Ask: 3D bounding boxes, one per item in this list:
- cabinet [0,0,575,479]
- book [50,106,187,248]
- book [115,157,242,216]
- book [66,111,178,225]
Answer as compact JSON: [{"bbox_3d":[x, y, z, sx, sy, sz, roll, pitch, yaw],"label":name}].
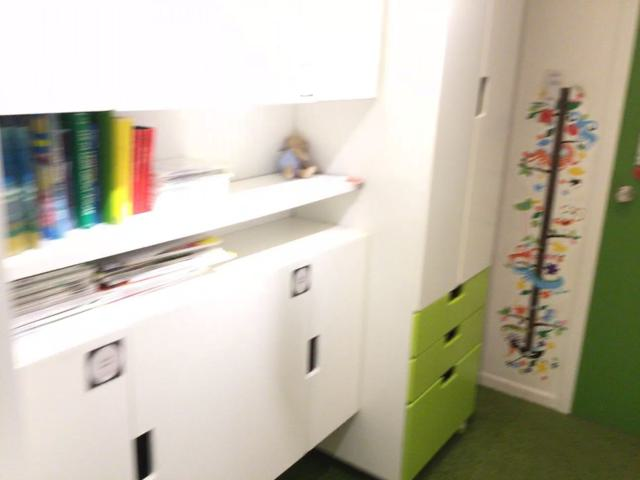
[{"bbox_3d":[-0.220,0.040,1.350,0.650,2.000,2.370,15,21,37],"label":"cabinet"},{"bbox_3d":[-0.410,-0.140,1.180,0.250,0.240,0.140,15,21,37],"label":"book"},{"bbox_3d":[-0.350,-0.140,1.450,0.180,0.090,0.250,15,21,37],"label":"book"},{"bbox_3d":[-0.440,-0.170,1.300,0.140,0.220,0.180,15,21,37],"label":"book"}]
